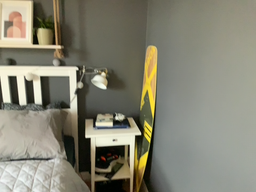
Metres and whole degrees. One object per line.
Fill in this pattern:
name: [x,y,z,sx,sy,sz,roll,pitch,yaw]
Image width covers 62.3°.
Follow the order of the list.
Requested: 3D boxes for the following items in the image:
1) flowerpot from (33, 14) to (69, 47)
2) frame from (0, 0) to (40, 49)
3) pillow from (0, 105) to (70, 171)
flowerpot: [-0.610,-0.520,1.710,0.220,0.230,0.200,2,16,-3]
frame: [-0.840,-0.580,1.610,0.260,0.410,0.160,0,16,-10]
pillow: [-0.740,0.280,1.560,0.570,0.310,0.410,-1,16,-12]
